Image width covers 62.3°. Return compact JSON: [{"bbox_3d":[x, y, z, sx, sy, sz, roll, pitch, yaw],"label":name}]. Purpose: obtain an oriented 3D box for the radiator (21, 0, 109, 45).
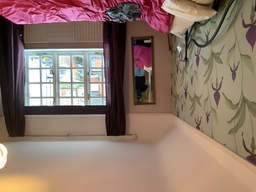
[{"bbox_3d":[-1.130,-1.320,3.800,1.560,0.760,0.080,-1,-178,3],"label":"radiator"}]
